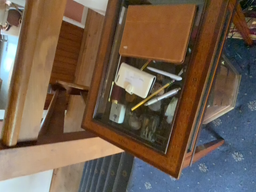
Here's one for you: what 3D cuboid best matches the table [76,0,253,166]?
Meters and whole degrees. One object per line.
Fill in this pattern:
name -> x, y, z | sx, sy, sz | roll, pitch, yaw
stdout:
table -> 0.220, -0.110, 1.020 | 0.460, 0.670, 0.580 | 20, 99, 35
